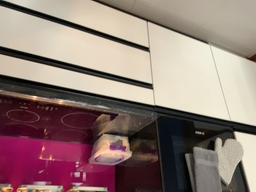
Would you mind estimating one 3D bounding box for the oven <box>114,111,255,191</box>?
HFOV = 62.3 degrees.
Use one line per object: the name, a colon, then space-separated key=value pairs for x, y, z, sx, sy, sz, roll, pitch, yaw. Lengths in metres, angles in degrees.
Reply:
oven: x=0.320 y=0.550 z=1.360 sx=0.600 sy=0.610 sz=0.660 roll=13 pitch=148 yaw=-25
